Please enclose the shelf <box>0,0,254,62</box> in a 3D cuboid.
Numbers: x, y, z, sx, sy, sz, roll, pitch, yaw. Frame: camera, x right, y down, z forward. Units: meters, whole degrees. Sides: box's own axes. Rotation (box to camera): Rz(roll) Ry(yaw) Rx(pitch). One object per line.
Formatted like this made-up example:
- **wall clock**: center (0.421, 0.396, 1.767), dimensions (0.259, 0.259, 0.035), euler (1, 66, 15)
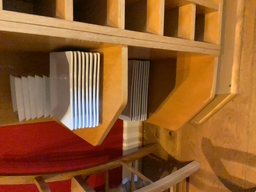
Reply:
- **shelf**: center (-0.110, -0.210, 0.680), dimensions (0.570, 0.860, 0.150), euler (12, 102, 54)
